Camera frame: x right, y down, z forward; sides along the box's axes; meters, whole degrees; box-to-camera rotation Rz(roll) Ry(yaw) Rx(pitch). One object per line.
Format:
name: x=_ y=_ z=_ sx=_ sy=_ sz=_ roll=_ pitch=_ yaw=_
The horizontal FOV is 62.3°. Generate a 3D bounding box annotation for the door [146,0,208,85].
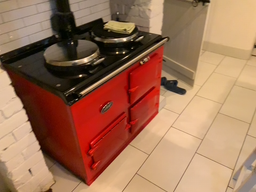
door: x=0.480 y=-1.100 z=2.140 sx=0.100 sy=1.940 sz=0.760 roll=-24 pitch=42 yaw=-26

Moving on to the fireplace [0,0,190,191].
fireplace: x=-0.330 y=-0.350 z=1.610 sx=0.840 sy=1.540 sz=1.730 roll=24 pitch=44 yaw=30
